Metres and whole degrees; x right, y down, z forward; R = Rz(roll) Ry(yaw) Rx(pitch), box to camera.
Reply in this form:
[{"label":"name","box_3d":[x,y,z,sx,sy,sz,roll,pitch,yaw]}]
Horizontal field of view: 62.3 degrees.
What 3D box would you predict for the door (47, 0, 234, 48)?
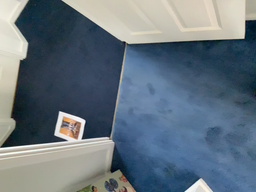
[{"label":"door","box_3d":[-0.160,-0.480,0.600,0.790,2.010,0.030,4,86,28]}]
